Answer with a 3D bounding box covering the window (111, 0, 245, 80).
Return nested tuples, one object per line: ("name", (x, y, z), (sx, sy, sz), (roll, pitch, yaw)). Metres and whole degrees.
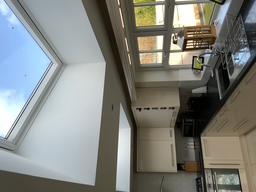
("window", (0.540, -0.830, 2.620), (2.090, 1.250, 0.340), (73, -163, -67))
